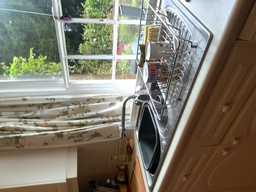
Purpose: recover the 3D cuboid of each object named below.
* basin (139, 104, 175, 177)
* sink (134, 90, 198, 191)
[{"bbox_3d":[0.160,0.260,1.290,0.360,0.070,0.240,-104,17,-45],"label":"basin"},{"bbox_3d":[0.190,0.260,1.280,0.440,0.170,0.390,-105,18,-46],"label":"sink"}]
